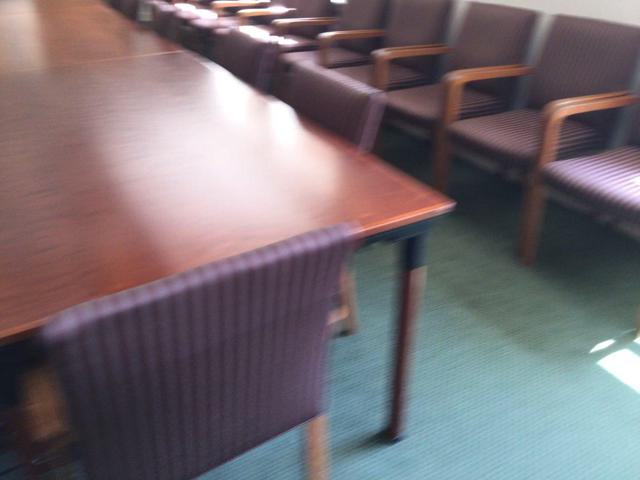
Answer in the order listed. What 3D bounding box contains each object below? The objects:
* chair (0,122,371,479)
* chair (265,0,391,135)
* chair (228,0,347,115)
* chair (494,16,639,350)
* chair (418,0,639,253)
[{"bbox_3d":[-0.290,0.280,1.220,0.550,0.830,0.540,-18,36,-26],"label":"chair"},{"bbox_3d":[0.040,-1.200,3.680,0.570,0.830,0.540,-18,36,-26],"label":"chair"},{"bbox_3d":[-0.220,-1.390,4.010,0.630,0.810,0.510,-18,36,-26],"label":"chair"},{"bbox_3d":[1.130,-0.240,2.020,0.590,0.880,0.650,-18,36,-26],"label":"chair"},{"bbox_3d":[0.850,-0.510,2.490,0.550,0.860,0.550,-18,36,-26],"label":"chair"}]
